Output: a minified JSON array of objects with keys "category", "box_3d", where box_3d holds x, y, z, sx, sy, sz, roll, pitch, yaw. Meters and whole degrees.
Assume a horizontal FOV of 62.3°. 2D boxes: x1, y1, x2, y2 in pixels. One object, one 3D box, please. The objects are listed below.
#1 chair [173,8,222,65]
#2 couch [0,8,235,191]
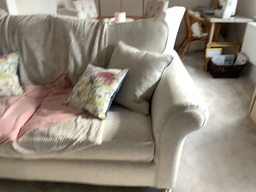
[{"category":"chair","box_3d":[1.120,-1.020,3.570,0.610,0.790,0.540,6,29,8]},{"category":"couch","box_3d":[-0.630,-0.060,1.580,2.120,0.970,1.120,1,29,1]}]
